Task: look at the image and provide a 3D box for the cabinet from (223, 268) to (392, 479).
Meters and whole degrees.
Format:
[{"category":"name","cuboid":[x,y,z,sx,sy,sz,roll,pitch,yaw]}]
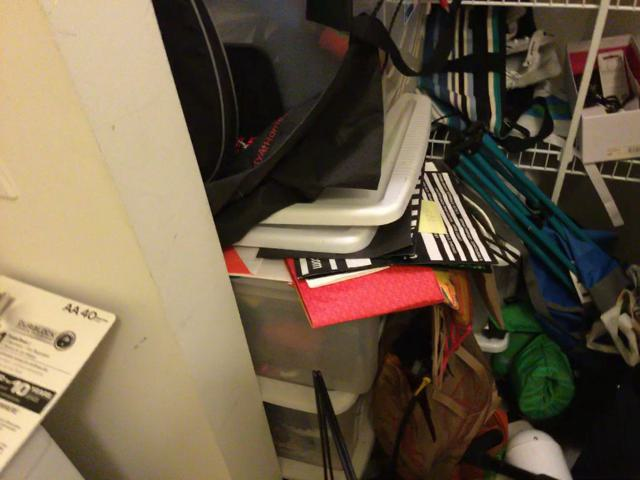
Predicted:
[{"category":"cabinet","cuboid":[0.000,0.270,1.110,0.220,0.290,0.280,9,45,16]}]
